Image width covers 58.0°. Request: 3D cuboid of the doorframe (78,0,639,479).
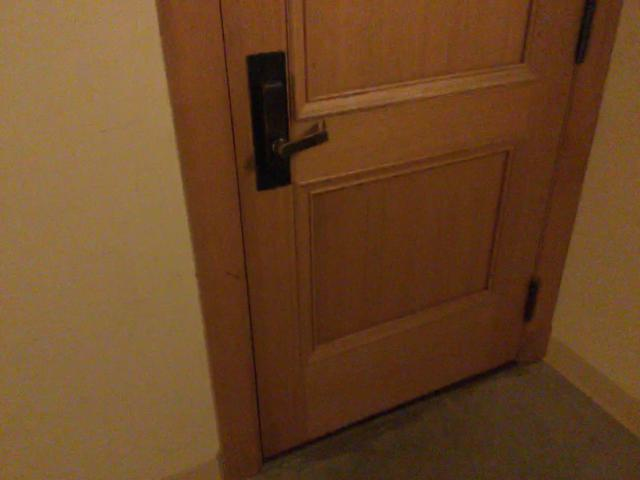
[{"bbox_3d":[0.200,-0.390,1.190,1.280,2.160,0.070,-10,30,-26],"label":"doorframe"}]
